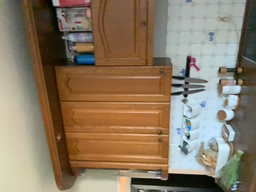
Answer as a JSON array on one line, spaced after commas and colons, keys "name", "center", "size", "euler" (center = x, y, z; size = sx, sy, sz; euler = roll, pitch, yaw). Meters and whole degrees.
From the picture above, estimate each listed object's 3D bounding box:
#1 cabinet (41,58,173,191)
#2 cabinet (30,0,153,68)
[{"name": "cabinet", "center": [-0.150, 0.310, 1.980], "size": [0.330, 1.010, 1.260], "euler": [-75, -14, -69]}, {"name": "cabinet", "center": [-0.240, -0.560, 1.660], "size": [0.340, 0.850, 0.610], "euler": [-75, -14, -69]}]
